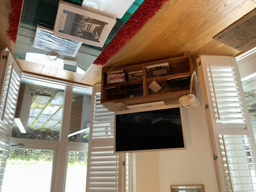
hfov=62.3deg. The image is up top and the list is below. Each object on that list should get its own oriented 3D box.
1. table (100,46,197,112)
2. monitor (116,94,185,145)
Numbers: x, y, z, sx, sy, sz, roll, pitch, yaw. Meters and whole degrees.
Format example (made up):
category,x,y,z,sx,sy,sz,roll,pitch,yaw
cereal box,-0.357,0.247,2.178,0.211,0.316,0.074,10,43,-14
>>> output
category,x,y,z,sx,sy,sz,roll,pitch,yaw
table,0.250,-0.150,2.460,1.000,0.450,0.530,-7,158,16
monitor,0.210,0.250,2.230,0.710,0.470,0.040,-7,158,16
